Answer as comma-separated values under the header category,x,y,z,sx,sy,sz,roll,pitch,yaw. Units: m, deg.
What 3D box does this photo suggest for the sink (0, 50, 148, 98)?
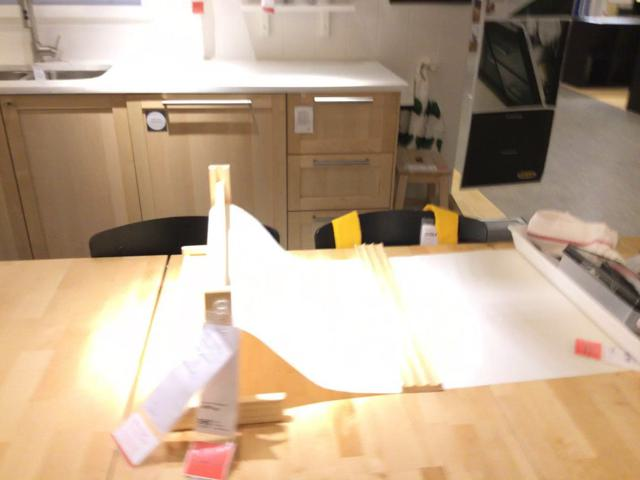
category,x,y,z,sx,sy,sz,roll,pitch,yaw
sink,-1.200,-0.710,2.450,0.840,0.130,0.440,-3,25,-7

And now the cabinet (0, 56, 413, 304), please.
category,x,y,z,sx,sy,sz,roll,pitch,yaw
cabinet,-0.910,-0.300,2.570,2.470,0.900,0.660,-3,25,-7
